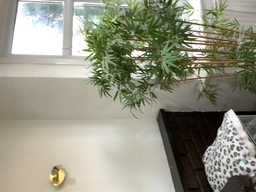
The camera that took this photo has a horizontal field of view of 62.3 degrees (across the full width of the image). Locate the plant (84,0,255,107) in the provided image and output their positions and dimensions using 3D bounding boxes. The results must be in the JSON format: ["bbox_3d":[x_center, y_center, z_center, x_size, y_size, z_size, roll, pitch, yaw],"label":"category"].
[{"bbox_3d":[0.590,-0.300,1.320,0.530,1.650,0.650,124,145,-76],"label":"plant"}]

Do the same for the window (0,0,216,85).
[{"bbox_3d":[-0.230,-0.840,1.660,0.130,1.770,1.490,132,137,-78],"label":"window"}]
